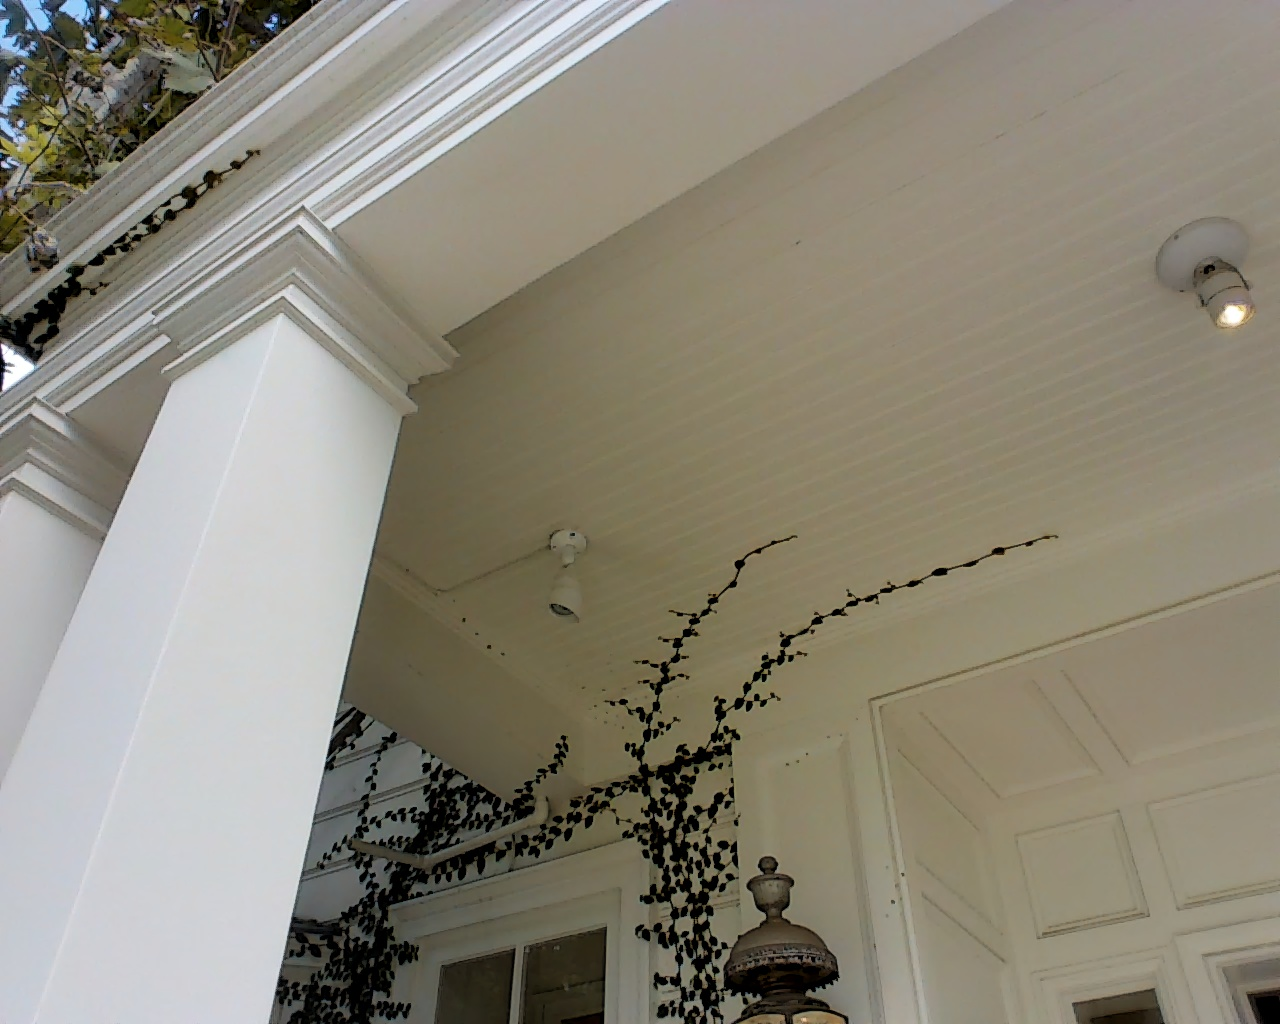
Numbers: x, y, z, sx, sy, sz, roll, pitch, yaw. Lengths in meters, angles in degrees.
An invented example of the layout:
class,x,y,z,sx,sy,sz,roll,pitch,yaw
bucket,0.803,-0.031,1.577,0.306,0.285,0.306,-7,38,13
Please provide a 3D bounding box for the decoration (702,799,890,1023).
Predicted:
class,x,y,z,sx,sy,sz,roll,pitch,yaw
decoration,0.260,0.970,1.680,0.270,0.980,0.150,24,-45,-24
